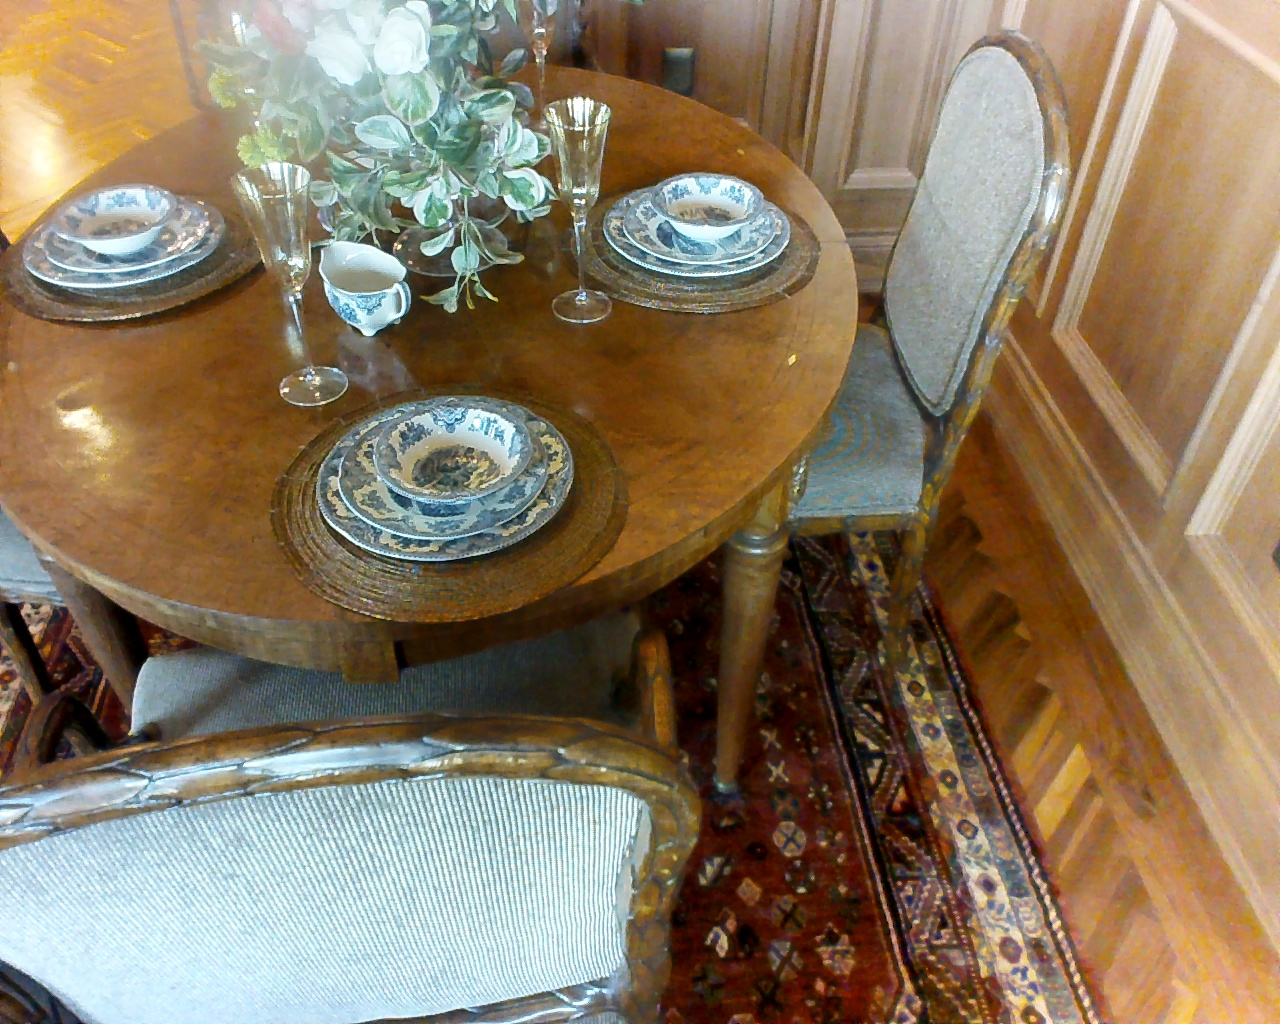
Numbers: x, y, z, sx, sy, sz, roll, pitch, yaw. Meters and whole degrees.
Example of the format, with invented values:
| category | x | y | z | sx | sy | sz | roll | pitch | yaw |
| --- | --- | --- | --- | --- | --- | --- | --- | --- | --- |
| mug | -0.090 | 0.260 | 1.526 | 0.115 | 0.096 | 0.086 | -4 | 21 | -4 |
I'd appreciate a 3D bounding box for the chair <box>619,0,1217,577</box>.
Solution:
| category | x | y | z | sx | sy | sz | roll | pitch | yaw |
| --- | --- | --- | --- | --- | --- | --- | --- | --- | --- |
| chair | 0.380 | -0.560 | 1.740 | 0.660 | 1.030 | 0.710 | 10 | 43 | 9 |
